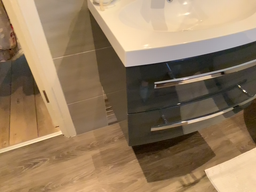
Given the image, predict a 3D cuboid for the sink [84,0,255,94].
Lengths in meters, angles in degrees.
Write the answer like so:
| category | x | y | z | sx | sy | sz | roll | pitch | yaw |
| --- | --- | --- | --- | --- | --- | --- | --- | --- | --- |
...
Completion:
| category | x | y | z | sx | sy | sz | roll | pitch | yaw |
| --- | --- | --- | --- | --- | --- | --- | --- | --- | --- |
| sink | 0.210 | -0.290 | 0.790 | 0.640 | 0.110 | 0.490 | -16 | 46 | -14 |
